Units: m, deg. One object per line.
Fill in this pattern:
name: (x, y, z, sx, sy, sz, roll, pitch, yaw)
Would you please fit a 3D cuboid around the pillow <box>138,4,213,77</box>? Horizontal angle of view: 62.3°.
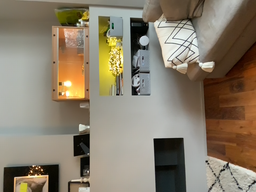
pillow: (0.440, -0.530, 2.030, 0.560, 0.400, 0.160, 45, 172, 8)
